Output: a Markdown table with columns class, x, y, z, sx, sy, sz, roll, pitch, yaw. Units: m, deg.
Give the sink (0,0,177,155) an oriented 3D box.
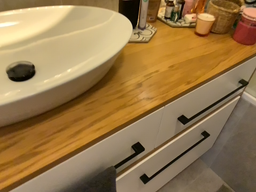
| class | x | y | z | sx | sy | sz | roll | pitch | yaw |
| --- | --- | --- | --- | --- | --- | --- | --- | --- | --- |
| sink | -0.250 | -0.090 | 0.510 | 0.610 | 0.120 | 0.390 | -24 | 50 | -28 |
